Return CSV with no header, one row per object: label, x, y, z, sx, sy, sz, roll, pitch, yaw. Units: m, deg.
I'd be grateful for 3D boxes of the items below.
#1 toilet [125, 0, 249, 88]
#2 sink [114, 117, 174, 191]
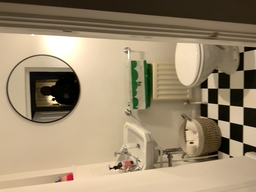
toilet,0.460,-0.440,1.760,0.470,0.870,0.720,-169,78,-72
sink,0.100,0.430,1.750,0.590,0.290,0.420,-171,80,-72
